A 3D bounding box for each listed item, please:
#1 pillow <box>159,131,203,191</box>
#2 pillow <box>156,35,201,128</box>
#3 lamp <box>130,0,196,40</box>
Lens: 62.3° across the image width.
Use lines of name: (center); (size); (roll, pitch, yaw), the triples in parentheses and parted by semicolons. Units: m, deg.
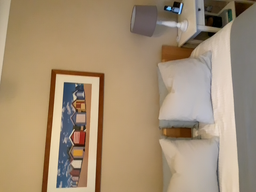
pillow: (0.420, 0.570, 1.600); (0.200, 0.490, 0.550); (-1, 76, 28)
pillow: (0.440, -0.080, 1.760); (0.200, 0.500, 0.640); (-4, 75, 32)
lamp: (0.320, -0.760, 2.010); (0.540, 0.280, 0.290); (4, 79, -11)
